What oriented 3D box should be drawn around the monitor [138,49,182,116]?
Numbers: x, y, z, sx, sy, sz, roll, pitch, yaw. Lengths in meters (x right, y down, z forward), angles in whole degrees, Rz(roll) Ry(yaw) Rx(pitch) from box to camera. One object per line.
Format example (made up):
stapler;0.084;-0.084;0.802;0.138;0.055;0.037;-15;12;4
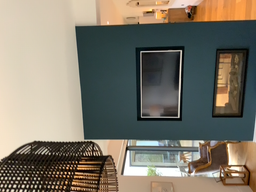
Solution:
monitor;0.440;-0.170;2.960;0.050;0.590;0.940;-75;-17;-76
